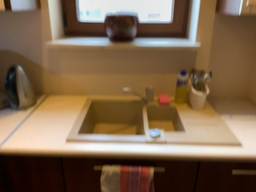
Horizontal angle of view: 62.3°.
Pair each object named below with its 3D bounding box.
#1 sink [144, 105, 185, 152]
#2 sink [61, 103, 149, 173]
[{"bbox_3d":[0.200,0.180,1.260,0.190,0.110,0.340,1,23,1],"label":"sink"},{"bbox_3d":[-0.100,0.210,1.220,0.410,0.150,0.460,1,23,1],"label":"sink"}]
